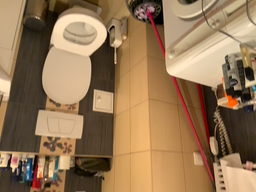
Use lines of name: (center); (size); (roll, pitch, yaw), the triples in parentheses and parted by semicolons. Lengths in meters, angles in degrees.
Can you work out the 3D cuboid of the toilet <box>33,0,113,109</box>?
toilet: (-0.410, -0.400, 1.600); (0.390, 0.840, 0.520); (11, 157, -28)
